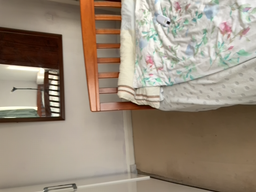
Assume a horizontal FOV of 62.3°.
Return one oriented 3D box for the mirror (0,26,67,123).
[{"bbox_3d":[-1.420,-0.310,2.970,0.050,1.070,1.360,148,120,-63],"label":"mirror"}]
